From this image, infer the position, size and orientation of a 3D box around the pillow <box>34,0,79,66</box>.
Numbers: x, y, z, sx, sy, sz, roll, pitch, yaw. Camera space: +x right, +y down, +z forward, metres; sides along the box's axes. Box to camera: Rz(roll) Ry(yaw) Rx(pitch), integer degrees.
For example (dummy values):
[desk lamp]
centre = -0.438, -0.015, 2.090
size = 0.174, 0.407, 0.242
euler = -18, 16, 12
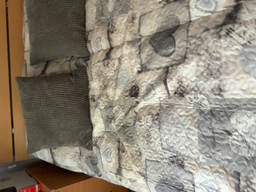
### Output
[pillow]
centre = -0.470, -0.470, 1.330
size = 0.210, 0.540, 0.520
euler = -2, 94, -23
